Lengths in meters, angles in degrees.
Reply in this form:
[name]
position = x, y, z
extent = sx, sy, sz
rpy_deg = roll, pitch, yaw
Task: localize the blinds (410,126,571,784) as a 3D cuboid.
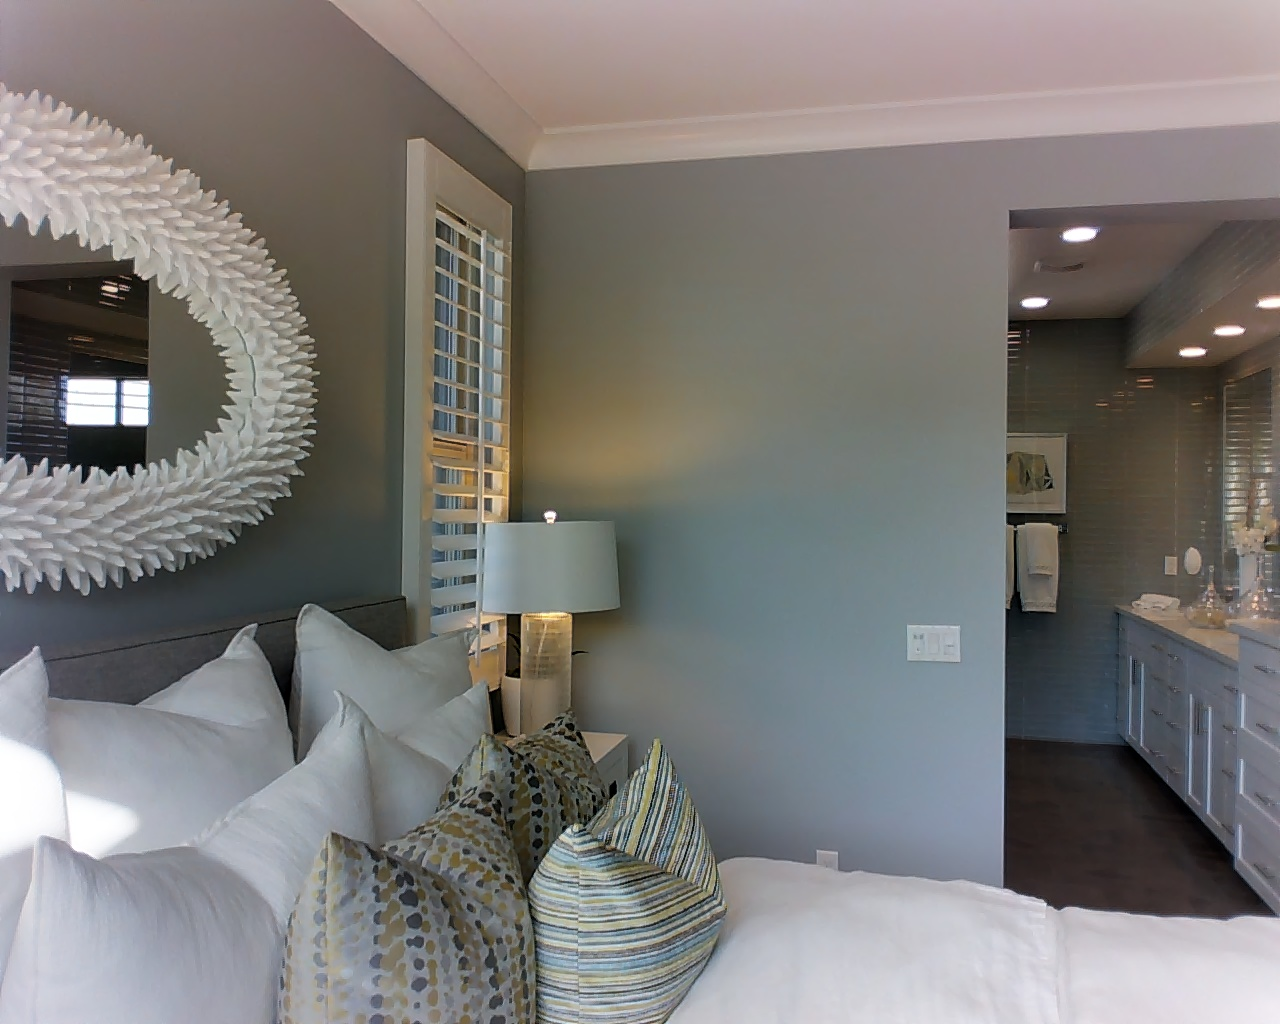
[blinds]
position = -0.420, -0.150, 3.150
extent = 0.240, 1.731, 0.620
rpy_deg = 0, 1, 15
